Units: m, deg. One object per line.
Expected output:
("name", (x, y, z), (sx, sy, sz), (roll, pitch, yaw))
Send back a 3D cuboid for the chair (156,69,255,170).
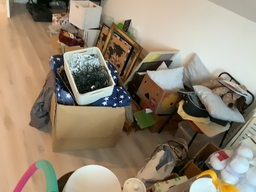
("chair", (0.710, 0.220, 2.020), (0.500, 0.820, 0.410), (-9, 44, -33))
